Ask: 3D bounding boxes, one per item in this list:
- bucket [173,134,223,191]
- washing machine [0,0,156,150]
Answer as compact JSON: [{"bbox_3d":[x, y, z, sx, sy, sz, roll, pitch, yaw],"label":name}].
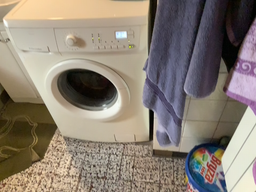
[{"bbox_3d":[0.330,0.390,1.070,0.160,0.290,0.270,1,47,6],"label":"bucket"},{"bbox_3d":[-0.160,-0.210,1.290,0.620,0.840,0.670,3,47,7],"label":"washing machine"}]
